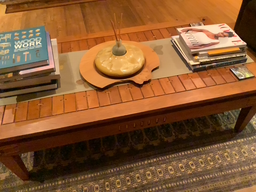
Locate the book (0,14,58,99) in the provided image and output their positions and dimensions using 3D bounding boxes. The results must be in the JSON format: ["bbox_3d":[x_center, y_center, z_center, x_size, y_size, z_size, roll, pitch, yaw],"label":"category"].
[{"bbox_3d":[-0.510,-0.200,1.000,0.300,0.170,0.390,-11,48,-9],"label":"book"}]

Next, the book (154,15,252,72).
[{"bbox_3d":[0.380,-0.300,1.150,0.390,0.090,0.330,-11,48,-8],"label":"book"}]
